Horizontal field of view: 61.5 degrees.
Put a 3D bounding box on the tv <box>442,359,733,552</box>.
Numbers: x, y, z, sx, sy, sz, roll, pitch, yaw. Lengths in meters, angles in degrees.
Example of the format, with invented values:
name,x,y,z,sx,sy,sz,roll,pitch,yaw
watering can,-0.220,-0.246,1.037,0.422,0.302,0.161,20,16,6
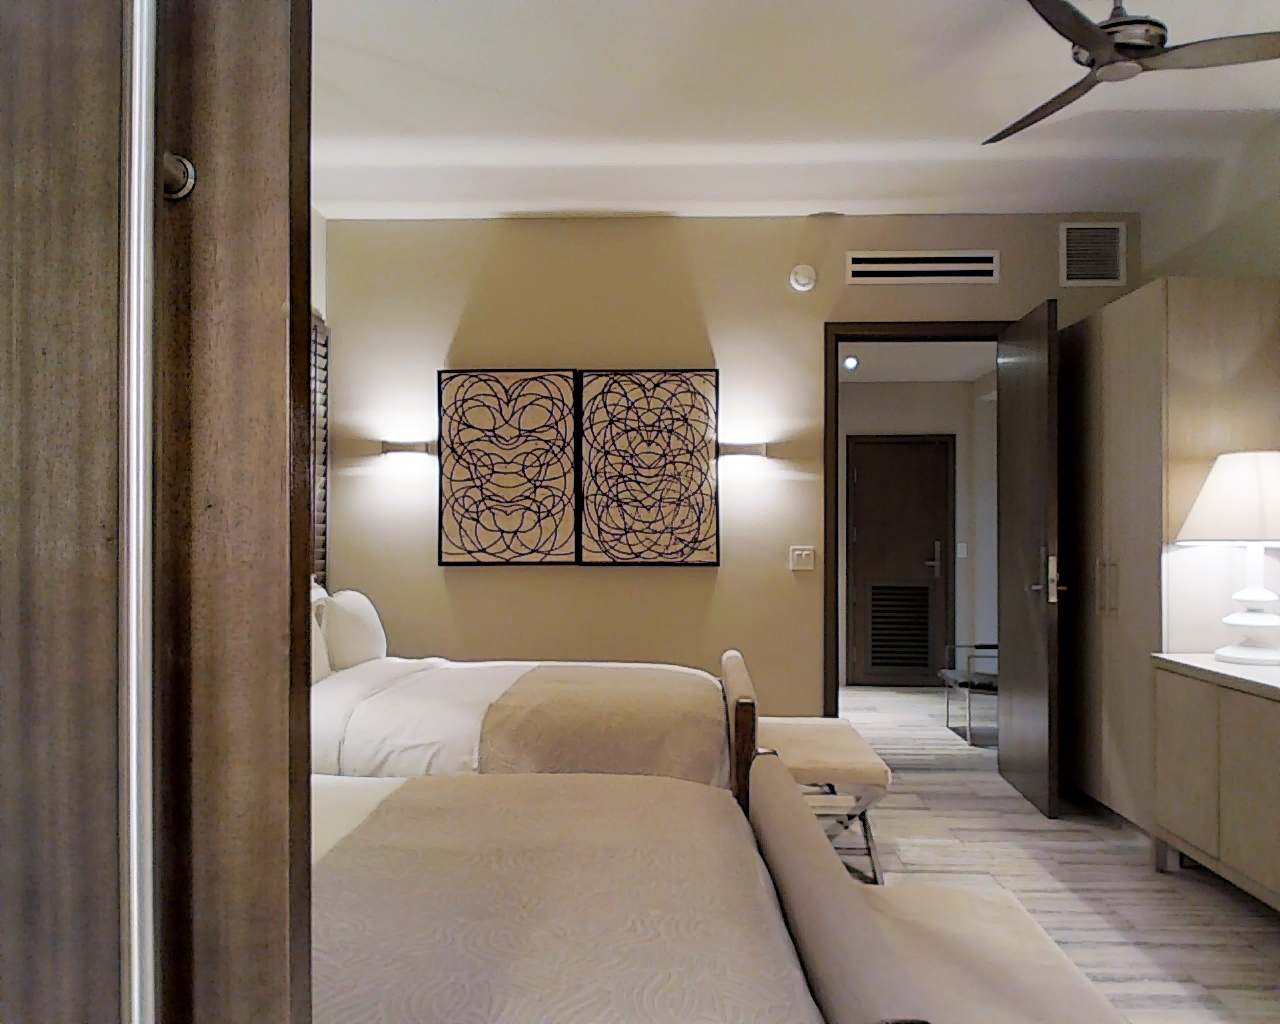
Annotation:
name,x,y,z,sx,sy,sz,roll,pitch,yaw
tv,-0.290,-0.310,5.930,1.590,1.050,0.100,0,-1,3

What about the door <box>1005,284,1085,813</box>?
name,x,y,z,sx,sy,sz,roll,pitch,yaw
door,2.000,0.170,5.360,0.130,2.390,0.980,0,-1,6

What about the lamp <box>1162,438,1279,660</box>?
name,x,y,z,sx,sy,sz,roll,pitch,yaw
lamp,2.240,0.130,3.910,0.470,0.760,0.460,0,-1,3
